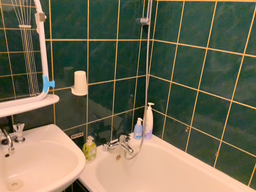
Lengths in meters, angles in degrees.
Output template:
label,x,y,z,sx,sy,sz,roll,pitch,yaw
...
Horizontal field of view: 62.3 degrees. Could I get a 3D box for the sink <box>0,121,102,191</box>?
label,x,y,z,sx,sy,sz,roll,pitch,yaw
sink,-0.470,0.330,0.890,0.580,0.170,0.410,-12,27,-40
